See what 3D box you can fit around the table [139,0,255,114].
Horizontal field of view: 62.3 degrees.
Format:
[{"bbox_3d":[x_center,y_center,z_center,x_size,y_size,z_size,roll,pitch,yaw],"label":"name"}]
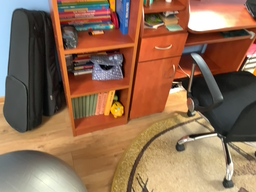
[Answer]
[{"bbox_3d":[0.650,-0.360,1.740,0.920,0.740,0.470,-11,47,-18],"label":"table"}]
